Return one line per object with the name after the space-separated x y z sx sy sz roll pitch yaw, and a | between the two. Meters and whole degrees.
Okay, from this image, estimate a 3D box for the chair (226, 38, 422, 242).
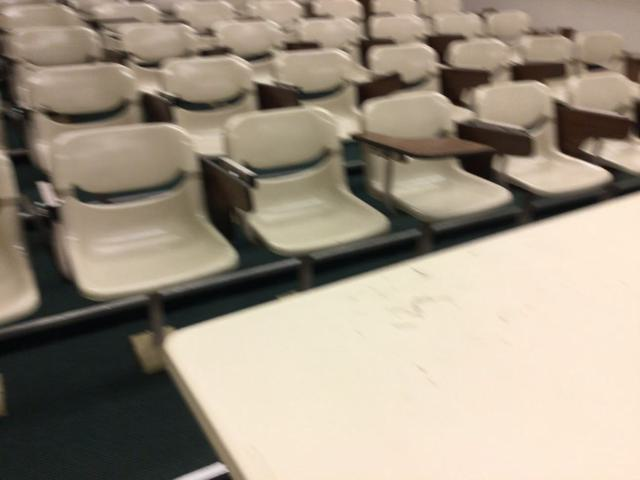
0.030 -0.550 2.960 0.780 0.820 0.560 -14 26 -23 | chair

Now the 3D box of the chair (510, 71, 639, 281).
1.440 -0.350 2.800 0.770 0.770 0.550 -14 26 -23 | chair

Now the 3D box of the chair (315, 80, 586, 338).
0.490 -0.190 2.370 0.740 0.750 0.700 -14 26 -23 | chair

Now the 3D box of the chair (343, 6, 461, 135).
0.580 -1.240 4.160 0.590 0.780 0.580 -14 26 -23 | chair

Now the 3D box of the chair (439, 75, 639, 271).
0.950 -0.330 2.510 0.620 0.620 0.570 -14 26 -23 | chair

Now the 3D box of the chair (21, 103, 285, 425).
-0.550 0.030 1.950 0.630 0.810 0.550 -14 26 -23 | chair

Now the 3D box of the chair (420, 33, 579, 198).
1.060 -0.790 3.530 0.680 0.820 0.560 -14 26 -23 | chair

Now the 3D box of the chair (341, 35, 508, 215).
0.570 -0.680 3.260 0.670 0.820 0.570 -14 26 -23 | chair

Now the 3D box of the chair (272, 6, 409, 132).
0.140 -1.170 3.870 0.690 0.690 0.590 -14 26 -23 | chair

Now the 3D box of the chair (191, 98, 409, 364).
-0.070 -0.080 2.180 0.590 0.750 0.560 -14 26 -23 | chair
